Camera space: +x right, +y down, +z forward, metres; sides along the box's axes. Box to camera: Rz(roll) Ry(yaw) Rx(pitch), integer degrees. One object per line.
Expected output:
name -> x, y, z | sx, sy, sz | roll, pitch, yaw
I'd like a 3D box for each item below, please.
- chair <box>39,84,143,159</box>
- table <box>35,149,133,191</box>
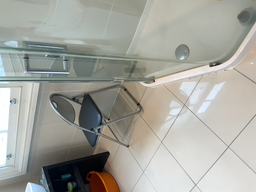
chair -> -0.340, 0.190, 1.920 | 0.420, 0.750, 0.410 | 51, 131, 38
table -> -0.430, 1.040, 2.120 | 0.720, 0.740, 0.490 | 50, 131, 38
